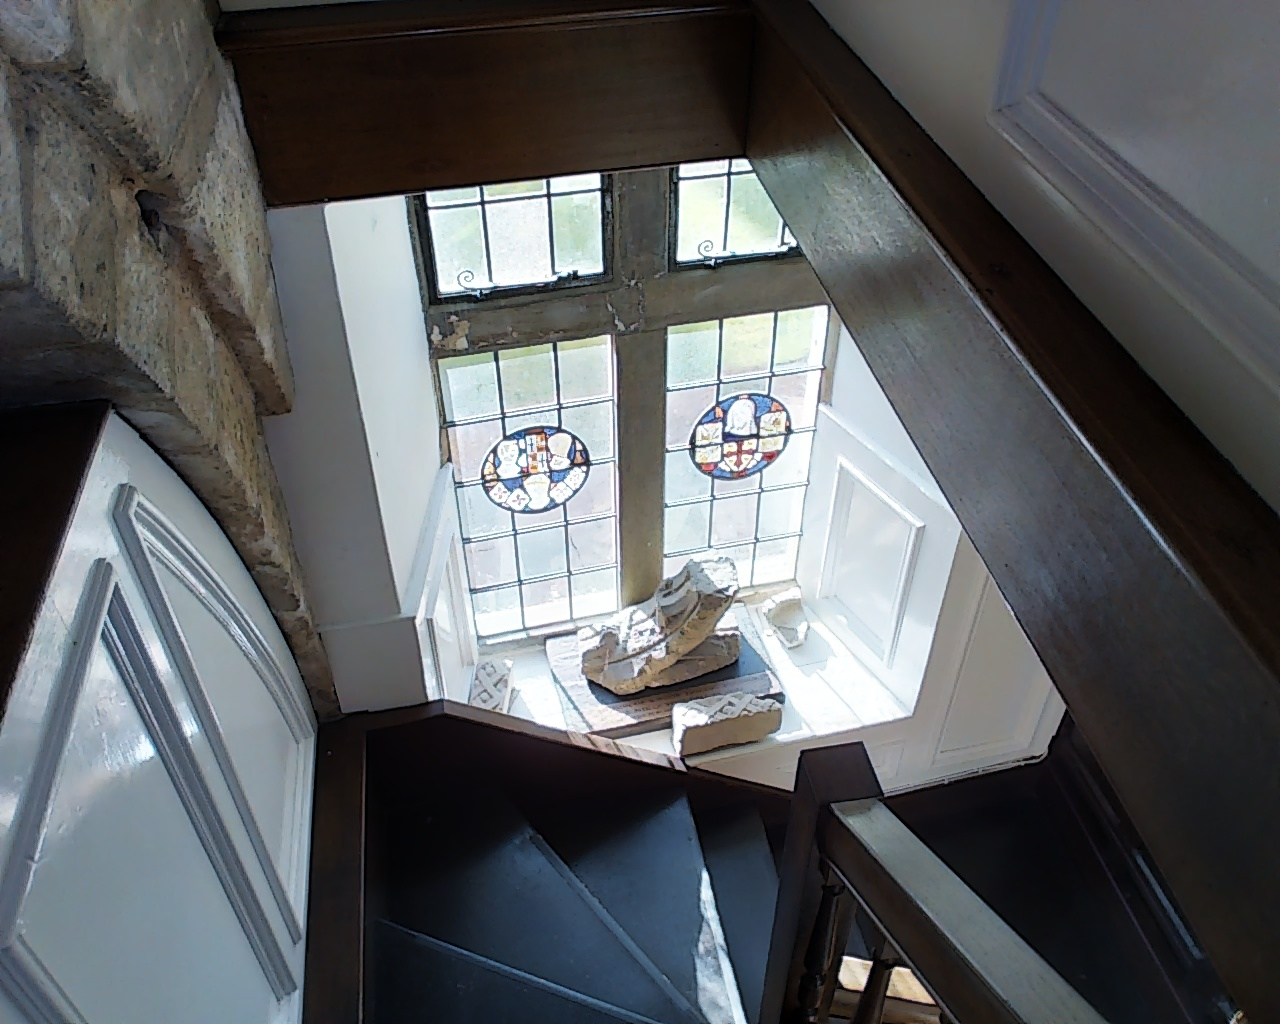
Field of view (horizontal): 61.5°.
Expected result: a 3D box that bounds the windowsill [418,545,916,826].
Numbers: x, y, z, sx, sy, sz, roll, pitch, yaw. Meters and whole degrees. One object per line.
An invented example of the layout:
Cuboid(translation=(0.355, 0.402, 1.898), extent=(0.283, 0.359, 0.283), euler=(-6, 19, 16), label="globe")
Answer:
Cuboid(translation=(0.060, 0.490, 3.310), extent=(1.380, 0.140, 0.660), euler=(-10, 41, -12), label="windowsill")

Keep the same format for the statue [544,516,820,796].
Cuboid(translation=(0.100, 0.410, 3.190), extent=(0.640, 0.430, 0.570), euler=(-10, 41, -12), label="statue")
